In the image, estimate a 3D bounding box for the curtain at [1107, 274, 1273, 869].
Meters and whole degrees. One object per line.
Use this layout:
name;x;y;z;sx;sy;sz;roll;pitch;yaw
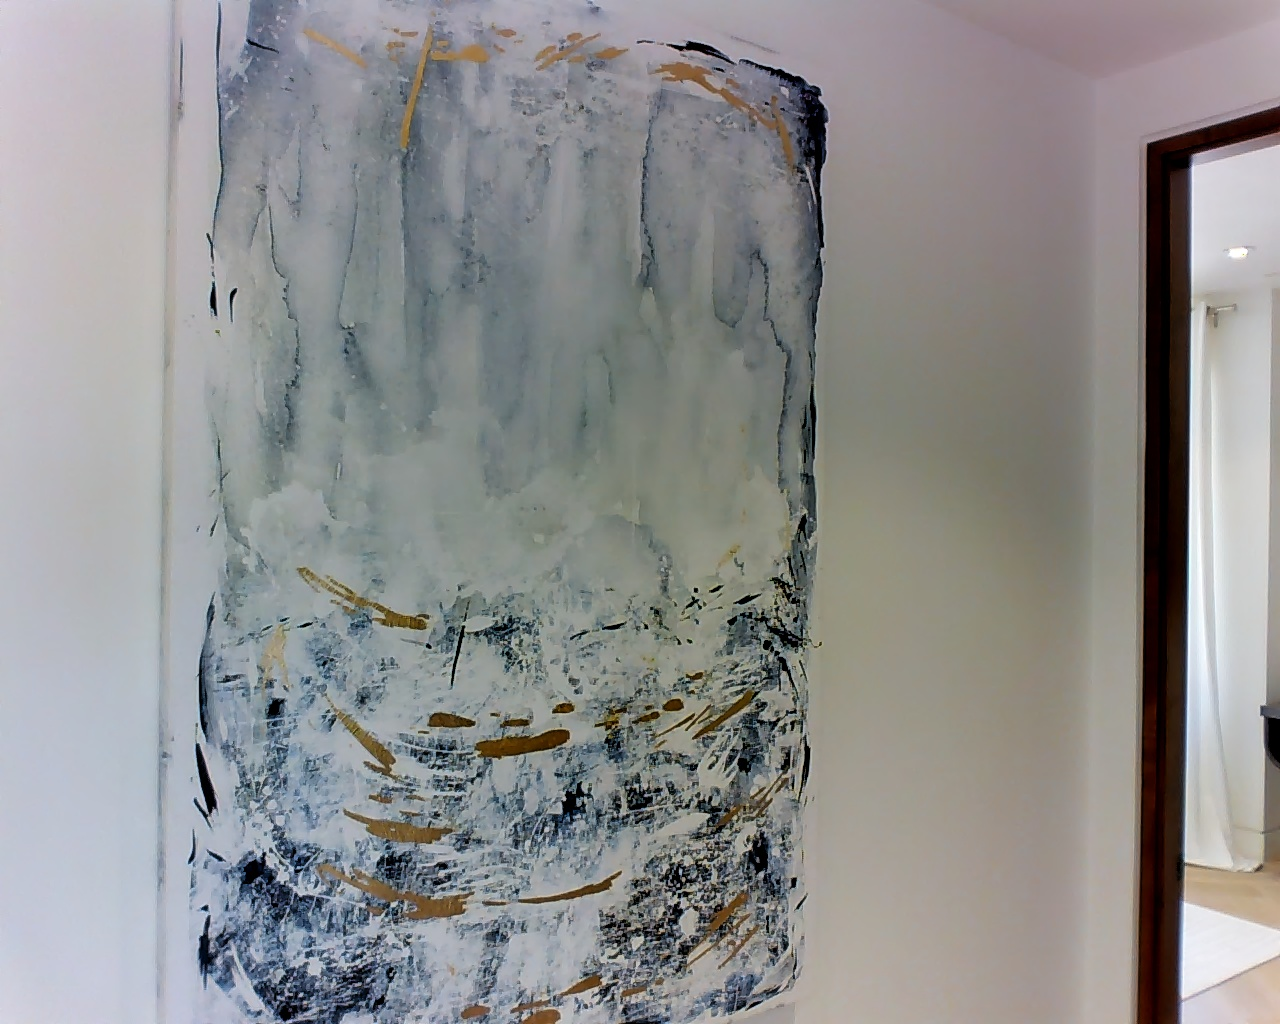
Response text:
curtain;2.770;0.280;5.440;0.370;2.810;0.620;1;0;-36
